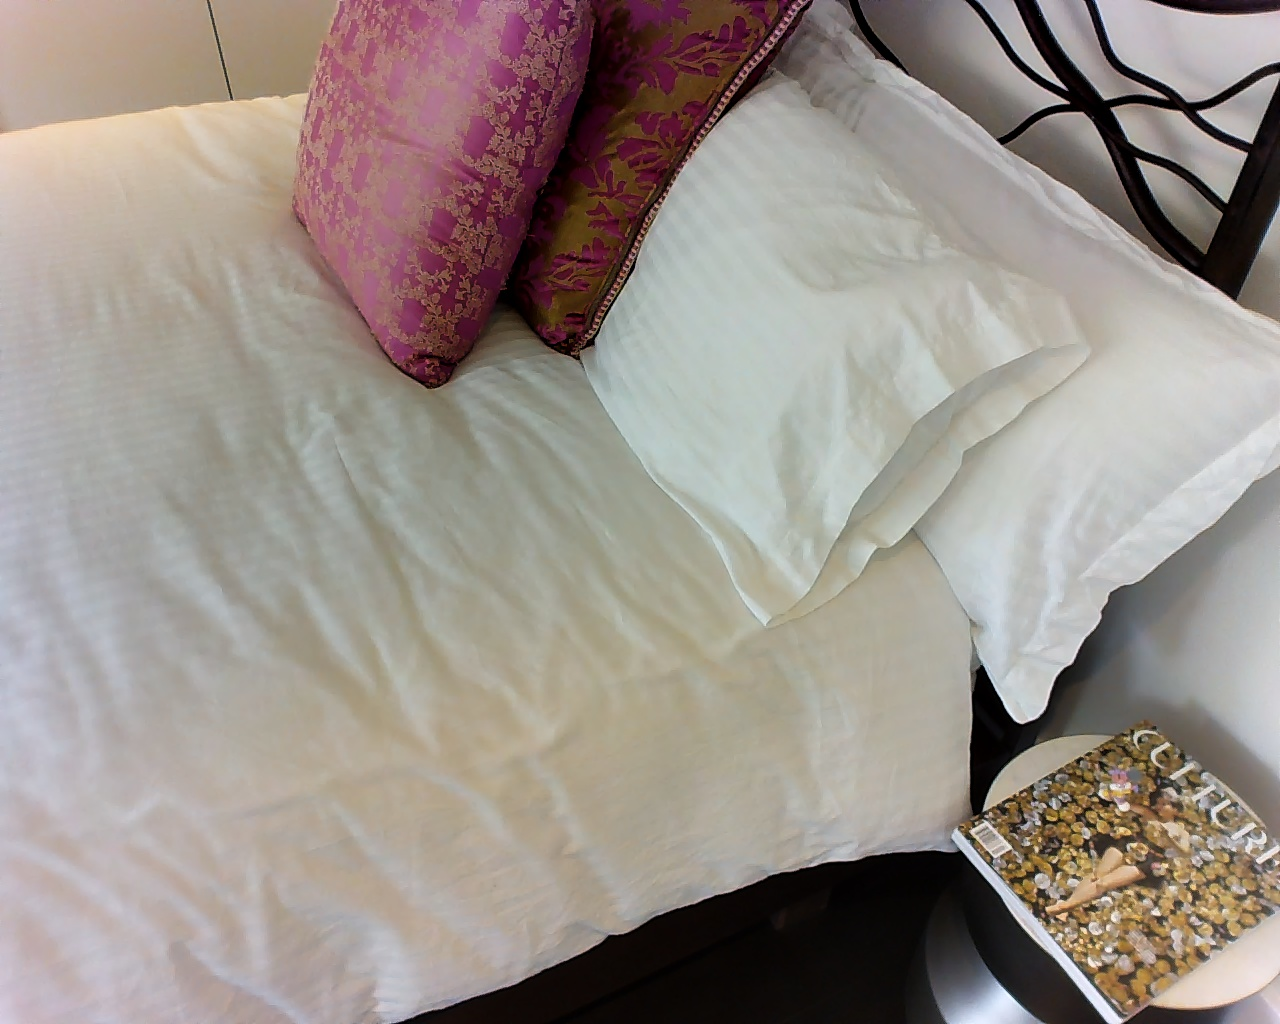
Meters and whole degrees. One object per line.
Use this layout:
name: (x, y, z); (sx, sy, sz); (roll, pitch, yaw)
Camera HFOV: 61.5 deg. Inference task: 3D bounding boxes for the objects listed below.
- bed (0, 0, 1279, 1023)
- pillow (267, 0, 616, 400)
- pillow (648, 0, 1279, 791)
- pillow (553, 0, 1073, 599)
bed: (-0.770, -0.040, 1.560); (2.380, 1.060, 1.920); (-18, 45, -20)
pillow: (-0.300, -0.540, 1.430); (0.230, 0.520, 0.580); (-18, 78, -20)
pillow: (0.370, -0.240, 1.400); (0.200, 0.600, 1.040); (-19, 63, -20)
pillow: (0.160, -0.230, 1.230); (0.240, 0.440, 0.610); (-18, 92, -20)
